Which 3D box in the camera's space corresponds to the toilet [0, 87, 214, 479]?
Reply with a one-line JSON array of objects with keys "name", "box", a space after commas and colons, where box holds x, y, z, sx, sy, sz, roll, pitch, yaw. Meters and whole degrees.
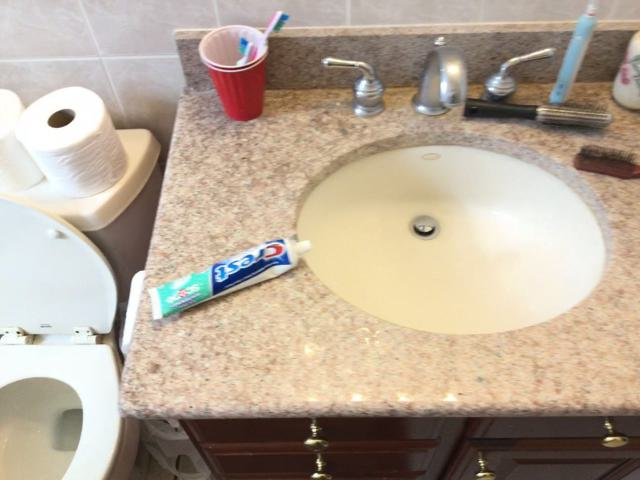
[{"name": "toilet", "box": [-0.530, 0.250, 1.080, 0.480, 0.780, 0.680, 0, 53, 0]}]
